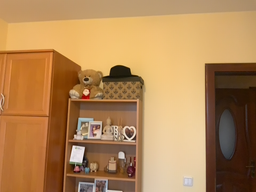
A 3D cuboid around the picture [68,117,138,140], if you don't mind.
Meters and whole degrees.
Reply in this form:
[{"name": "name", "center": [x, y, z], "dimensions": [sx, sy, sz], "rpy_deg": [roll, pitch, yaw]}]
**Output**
[{"name": "picture", "center": [-0.210, 0.280, 1.880], "dimensions": [0.580, 0.170, 0.190], "rpy_deg": [1, -6, 10]}]
